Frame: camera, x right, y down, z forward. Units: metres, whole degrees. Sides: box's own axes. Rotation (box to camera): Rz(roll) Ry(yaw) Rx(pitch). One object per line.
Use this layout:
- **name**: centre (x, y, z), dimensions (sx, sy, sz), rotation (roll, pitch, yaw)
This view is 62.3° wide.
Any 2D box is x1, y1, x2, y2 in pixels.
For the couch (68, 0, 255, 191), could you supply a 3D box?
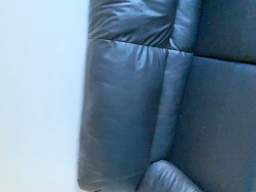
- **couch**: centre (0.360, -0.210, 1.090), dimensions (0.890, 0.890, 1.890), rotation (25, 112, 49)
